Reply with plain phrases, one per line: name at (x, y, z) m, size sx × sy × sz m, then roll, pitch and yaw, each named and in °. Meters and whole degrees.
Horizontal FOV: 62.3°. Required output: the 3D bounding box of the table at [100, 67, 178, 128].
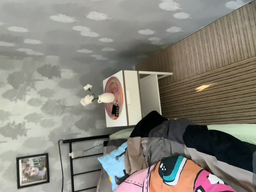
table at (0.090, 0.030, 2.000) m, size 0.460 × 0.530 × 0.480 m, roll -15°, pitch 78°, yaw 59°
